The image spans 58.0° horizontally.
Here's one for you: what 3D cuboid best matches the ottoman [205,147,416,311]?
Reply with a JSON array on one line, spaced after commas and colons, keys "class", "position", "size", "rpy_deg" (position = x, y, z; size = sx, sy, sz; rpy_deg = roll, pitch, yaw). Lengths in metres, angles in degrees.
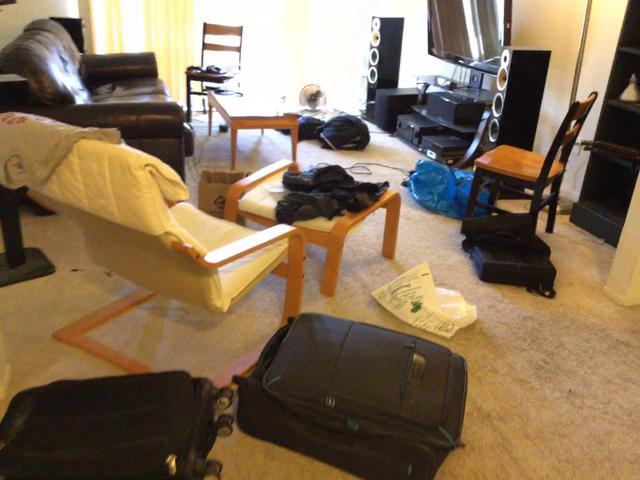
[{"class": "ottoman", "position": [-0.070, -0.110, 2.960], "size": [0.850, 0.480, 0.620], "rpy_deg": [23, 28, 36]}]
